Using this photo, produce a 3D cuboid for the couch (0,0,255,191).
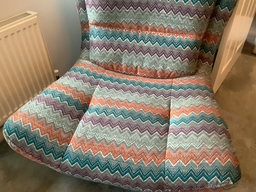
[{"bbox_3d":[0.030,-0.100,0.960,0.860,0.860,0.870,9,41,10],"label":"couch"}]
